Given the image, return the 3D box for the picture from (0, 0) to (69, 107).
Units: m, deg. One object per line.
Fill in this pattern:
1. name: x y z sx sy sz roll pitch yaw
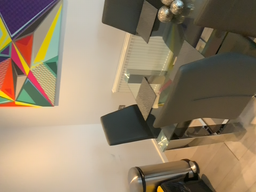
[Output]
1. picture: -1.060 -0.370 1.990 0.040 0.870 1.230 -116 35 -46
